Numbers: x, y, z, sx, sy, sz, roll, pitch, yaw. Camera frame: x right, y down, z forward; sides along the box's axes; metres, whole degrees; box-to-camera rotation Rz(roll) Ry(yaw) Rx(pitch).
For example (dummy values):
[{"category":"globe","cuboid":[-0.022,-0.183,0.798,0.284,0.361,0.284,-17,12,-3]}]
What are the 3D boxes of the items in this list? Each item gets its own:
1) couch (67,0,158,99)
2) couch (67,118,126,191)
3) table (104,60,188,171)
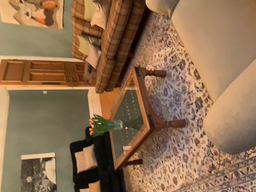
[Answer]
[{"category":"couch","cuboid":[-0.440,-0.950,3.390,1.990,0.850,1.090,118,145,-52]},{"category":"couch","cuboid":[-0.660,1.540,4.120,1.050,0.820,1.920,118,145,-52]},{"category":"table","cuboid":[0.090,0.320,2.660,1.370,0.410,0.800,117,145,-52]}]
